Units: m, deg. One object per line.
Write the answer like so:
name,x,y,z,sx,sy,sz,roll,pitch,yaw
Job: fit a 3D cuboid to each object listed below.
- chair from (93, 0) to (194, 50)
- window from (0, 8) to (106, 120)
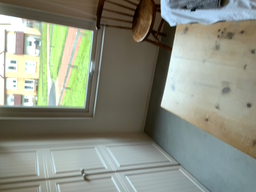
chair,0.130,-0.800,2.130,0.530,0.770,0.480,43,126,57
window,-0.850,-0.280,2.280,0.270,1.080,1.040,30,114,61
